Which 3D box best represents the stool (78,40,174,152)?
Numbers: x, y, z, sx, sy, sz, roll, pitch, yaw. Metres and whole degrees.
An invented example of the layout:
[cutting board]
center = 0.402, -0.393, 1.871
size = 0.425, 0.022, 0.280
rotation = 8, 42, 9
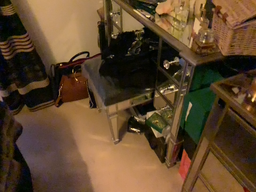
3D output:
[stool]
center = -0.030, -0.010, 1.440
size = 0.440, 0.510, 0.430
rotation = -17, 45, -18
